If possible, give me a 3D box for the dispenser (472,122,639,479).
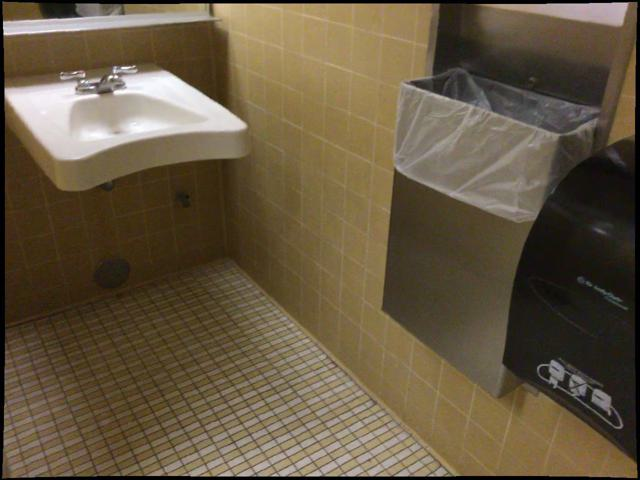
[{"bbox_3d":[0.489,0.100,0.880,0.260,0.441,0.330,-17,36,-32],"label":"dispenser"}]
